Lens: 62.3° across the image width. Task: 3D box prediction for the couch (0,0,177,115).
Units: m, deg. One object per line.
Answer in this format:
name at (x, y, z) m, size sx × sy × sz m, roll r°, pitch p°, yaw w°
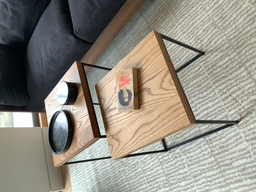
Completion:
couch at (-0.420, -0.690, 1.500) m, size 1.990 × 0.780 × 0.810 m, roll -41°, pitch 58°, yaw 37°
